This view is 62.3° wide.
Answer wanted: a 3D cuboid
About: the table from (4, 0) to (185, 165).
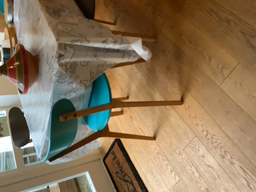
[{"bbox_3d":[-0.440,-0.360,1.700,1.300,0.780,0.930,55,135,33],"label":"table"}]
